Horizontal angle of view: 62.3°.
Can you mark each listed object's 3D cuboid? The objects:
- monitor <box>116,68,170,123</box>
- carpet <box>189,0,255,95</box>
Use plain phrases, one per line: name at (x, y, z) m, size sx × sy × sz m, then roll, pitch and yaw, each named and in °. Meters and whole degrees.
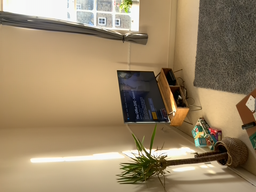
monitor at (0.210, -0.050, 3.590) m, size 1.240 × 0.700 × 0.070 m, roll -100°, pitch 16°, yaw -44°
carpet at (1.230, -1.110, 2.700) m, size 1.410 × 0.080 × 2.030 m, roll -146°, pitch 58°, yaw -77°
